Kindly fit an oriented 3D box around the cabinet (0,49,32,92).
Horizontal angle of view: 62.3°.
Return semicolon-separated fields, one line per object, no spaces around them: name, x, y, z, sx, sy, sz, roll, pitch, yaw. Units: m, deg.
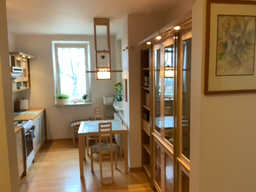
cabinet;-2.340;-0.510;4.380;0.290;0.760;1.260;-2;6;-9

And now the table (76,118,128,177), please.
table;-0.470;0.880;3.850;0.830;0.750;0.840;-2;6;-8

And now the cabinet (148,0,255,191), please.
cabinet;0.620;0.390;2.050;0.410;2.100;1.800;-2;6;-9
